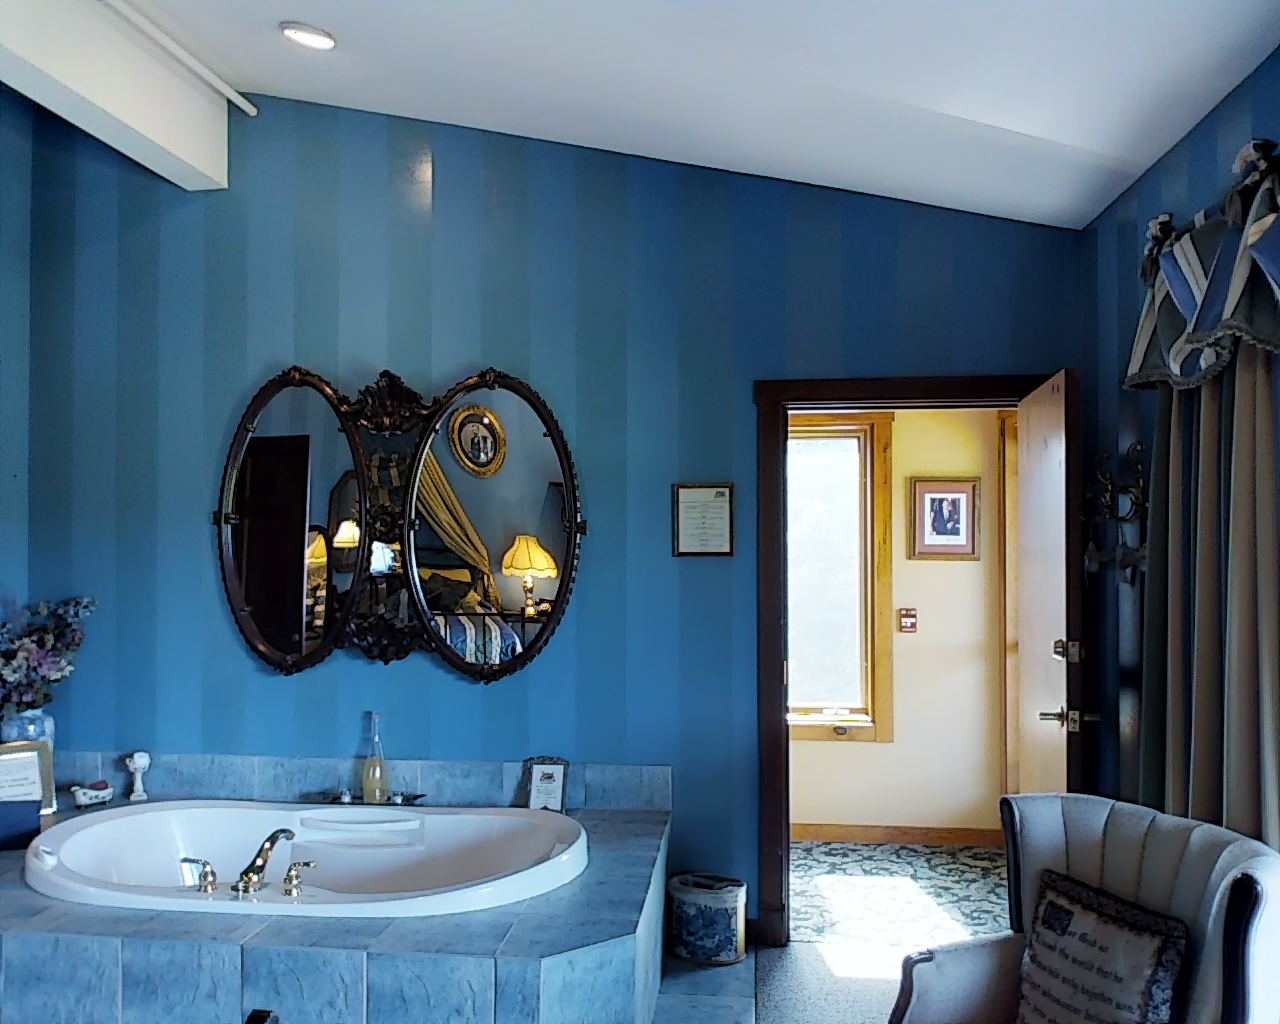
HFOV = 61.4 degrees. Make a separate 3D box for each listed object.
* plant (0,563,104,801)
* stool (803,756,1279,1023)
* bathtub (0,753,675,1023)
[{"bbox_3d":[-2.369,0.660,4.290,0.320,0.900,0.260,0,0,7],"label":"plant"},{"bbox_3d":[0.860,1.100,2.220,0.760,0.980,0.750,1,0,-22],"label":"stool"},{"bbox_3d":[-1.180,1.290,3.440,2.469,0.660,1.370,0,0,7],"label":"bathtub"}]
